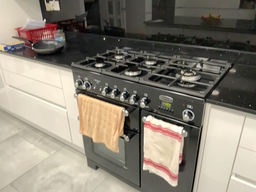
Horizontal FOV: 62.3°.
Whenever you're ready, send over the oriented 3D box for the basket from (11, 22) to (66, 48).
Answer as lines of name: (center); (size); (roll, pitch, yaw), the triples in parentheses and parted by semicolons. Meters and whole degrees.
basket: (-0.920, -0.650, 2.210); (0.290, 0.170, 0.420); (16, 32, 32)
